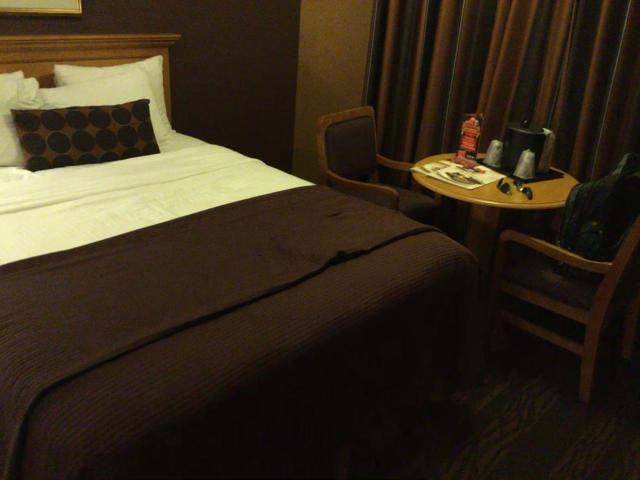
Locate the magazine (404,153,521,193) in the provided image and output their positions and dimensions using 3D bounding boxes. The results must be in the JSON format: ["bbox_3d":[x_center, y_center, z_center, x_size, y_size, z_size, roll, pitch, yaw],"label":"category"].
[{"bbox_3d":[0.620,-0.300,2.520,0.370,0.040,0.350,-19,30,-40],"label":"magazine"}]
